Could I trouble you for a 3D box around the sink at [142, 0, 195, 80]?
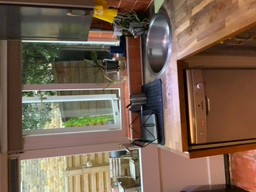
[{"bbox_3d":[0.270,-0.400,1.570,0.480,0.170,0.500,167,101,-74],"label":"sink"}]
